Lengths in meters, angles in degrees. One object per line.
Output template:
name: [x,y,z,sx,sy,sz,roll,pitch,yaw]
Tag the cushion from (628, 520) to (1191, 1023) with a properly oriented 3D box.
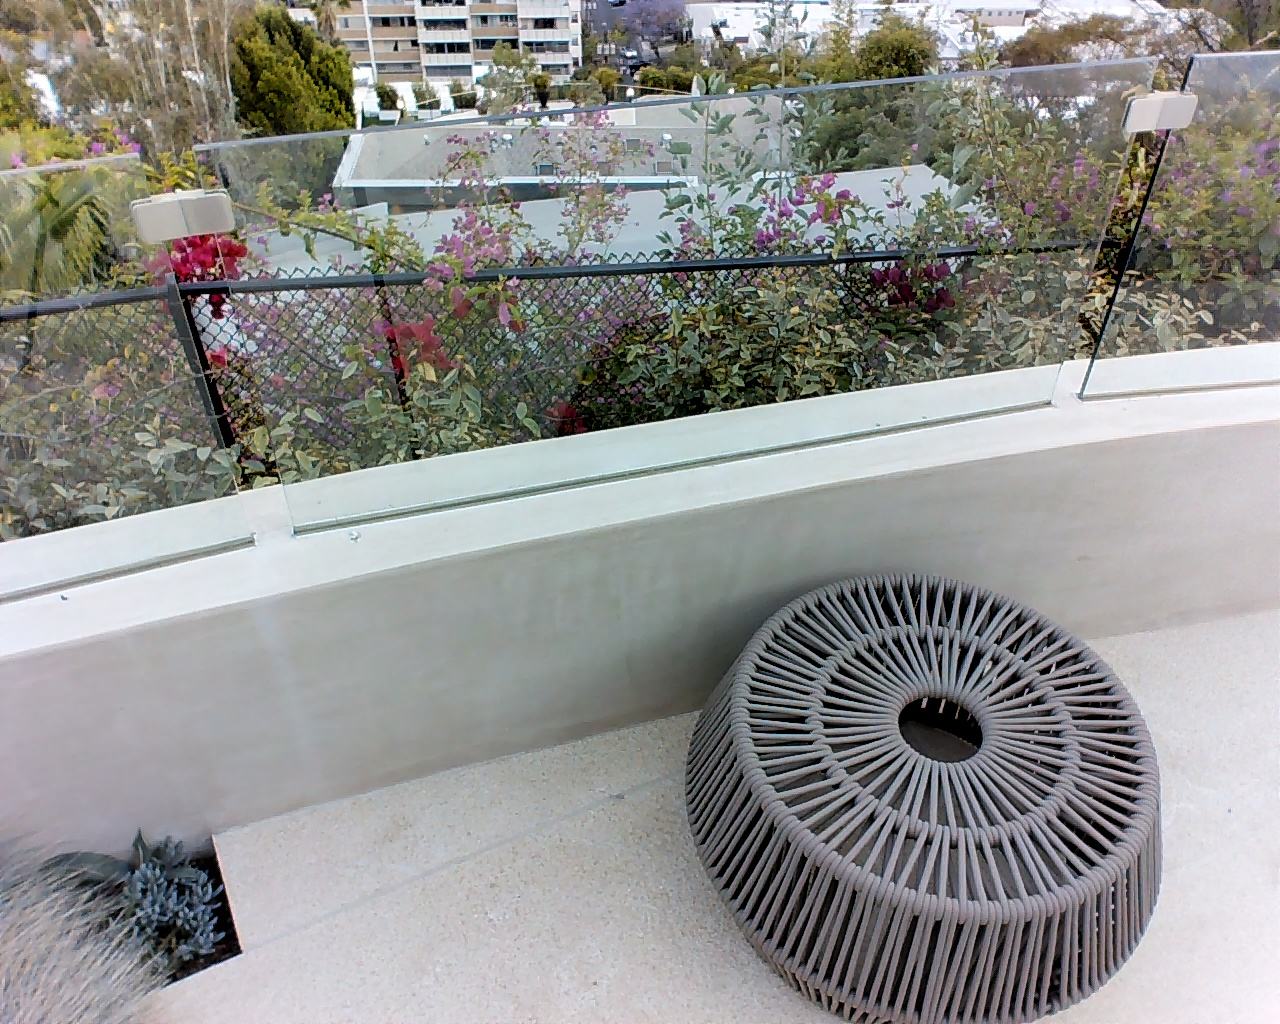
cushion: [0.410,0.420,1.610,0.640,0.320,0.660,17,44,17]
